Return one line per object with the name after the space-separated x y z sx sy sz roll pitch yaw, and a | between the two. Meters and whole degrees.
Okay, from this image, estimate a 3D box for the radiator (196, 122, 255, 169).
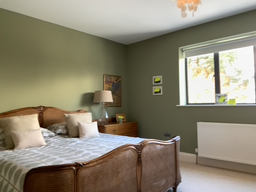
1.900 0.750 3.140 1.800 0.620 0.120 -2 -2 41 | radiator
